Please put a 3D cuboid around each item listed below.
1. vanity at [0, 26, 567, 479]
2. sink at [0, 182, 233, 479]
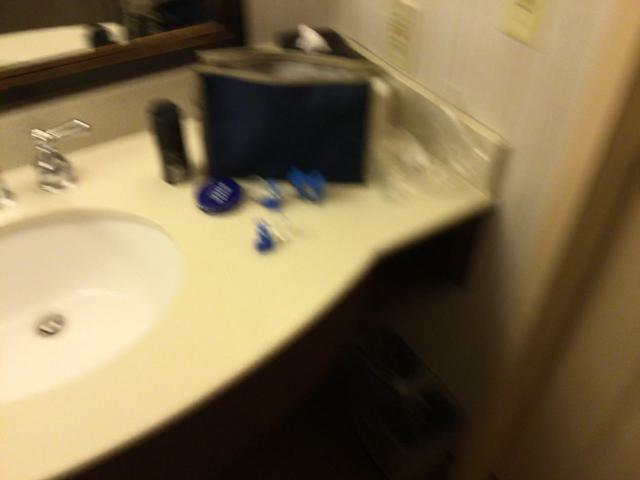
[{"bbox_3d":[-0.420,0.130,0.870,1.470,0.420,0.600,-23,47,-25],"label":"vanity"},{"bbox_3d":[-0.410,0.140,0.860,0.430,0.180,0.350,-23,47,-25],"label":"sink"}]
